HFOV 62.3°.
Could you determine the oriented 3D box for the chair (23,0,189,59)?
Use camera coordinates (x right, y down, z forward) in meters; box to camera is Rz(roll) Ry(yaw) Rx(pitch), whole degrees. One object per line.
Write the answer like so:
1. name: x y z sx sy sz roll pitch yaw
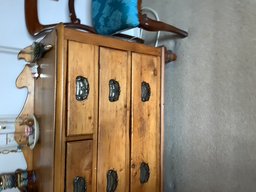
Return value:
1. chair: -0.140 -0.590 1.300 0.540 0.830 0.510 -12 80 54
